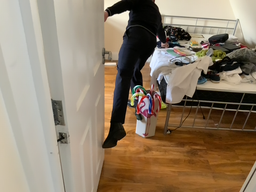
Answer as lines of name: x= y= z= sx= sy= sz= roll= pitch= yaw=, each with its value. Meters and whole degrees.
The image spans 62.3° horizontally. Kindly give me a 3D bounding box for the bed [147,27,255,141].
bed: x=1.100 y=-0.340 z=2.960 sx=1.450 sy=0.610 sz=2.050 roll=3 pitch=32 yaw=-2
